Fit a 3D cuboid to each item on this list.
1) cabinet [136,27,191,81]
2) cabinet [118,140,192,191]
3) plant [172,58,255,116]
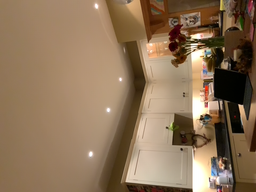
[{"bbox_3d":[0.750,-0.800,4.220,0.390,0.940,0.910,-72,-26,-44],"label":"cabinet"},{"bbox_3d":[0.440,1.080,3.140,0.700,0.960,0.370,-72,-26,-44],"label":"cabinet"},{"bbox_3d":[0.610,-0.060,1.560,0.260,0.510,0.310,-70,-27,-47],"label":"plant"}]
